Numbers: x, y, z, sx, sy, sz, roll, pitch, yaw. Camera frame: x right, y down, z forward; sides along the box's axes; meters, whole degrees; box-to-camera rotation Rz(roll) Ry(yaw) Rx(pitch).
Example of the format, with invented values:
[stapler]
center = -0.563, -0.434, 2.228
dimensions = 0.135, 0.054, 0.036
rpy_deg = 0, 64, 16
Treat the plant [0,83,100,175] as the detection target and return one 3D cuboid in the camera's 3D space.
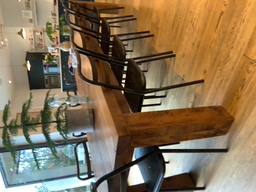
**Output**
[plant]
center = -0.690, 0.220, 1.690
dimensions = 0.590, 0.810, 0.350
rpy_deg = -116, 29, -48
